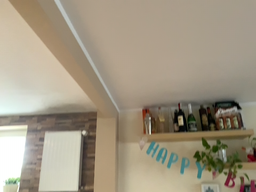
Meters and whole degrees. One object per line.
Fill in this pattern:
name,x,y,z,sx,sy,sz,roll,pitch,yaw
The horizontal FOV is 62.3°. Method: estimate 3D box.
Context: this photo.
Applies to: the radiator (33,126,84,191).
radiator,-0.720,0.700,2.260,0.420,0.710,0.180,-3,-21,4
